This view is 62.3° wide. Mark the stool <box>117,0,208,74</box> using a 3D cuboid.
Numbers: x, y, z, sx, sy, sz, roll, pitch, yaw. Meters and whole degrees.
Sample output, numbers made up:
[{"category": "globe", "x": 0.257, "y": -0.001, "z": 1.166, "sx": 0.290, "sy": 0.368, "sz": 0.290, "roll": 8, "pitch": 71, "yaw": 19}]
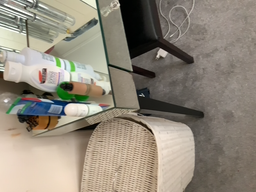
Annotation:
[{"category": "stool", "x": 0.180, "y": -0.470, "z": 1.150, "sx": 0.200, "sy": 0.530, "sz": 0.590, "roll": -20, "pitch": 74, "yaw": 33}]
